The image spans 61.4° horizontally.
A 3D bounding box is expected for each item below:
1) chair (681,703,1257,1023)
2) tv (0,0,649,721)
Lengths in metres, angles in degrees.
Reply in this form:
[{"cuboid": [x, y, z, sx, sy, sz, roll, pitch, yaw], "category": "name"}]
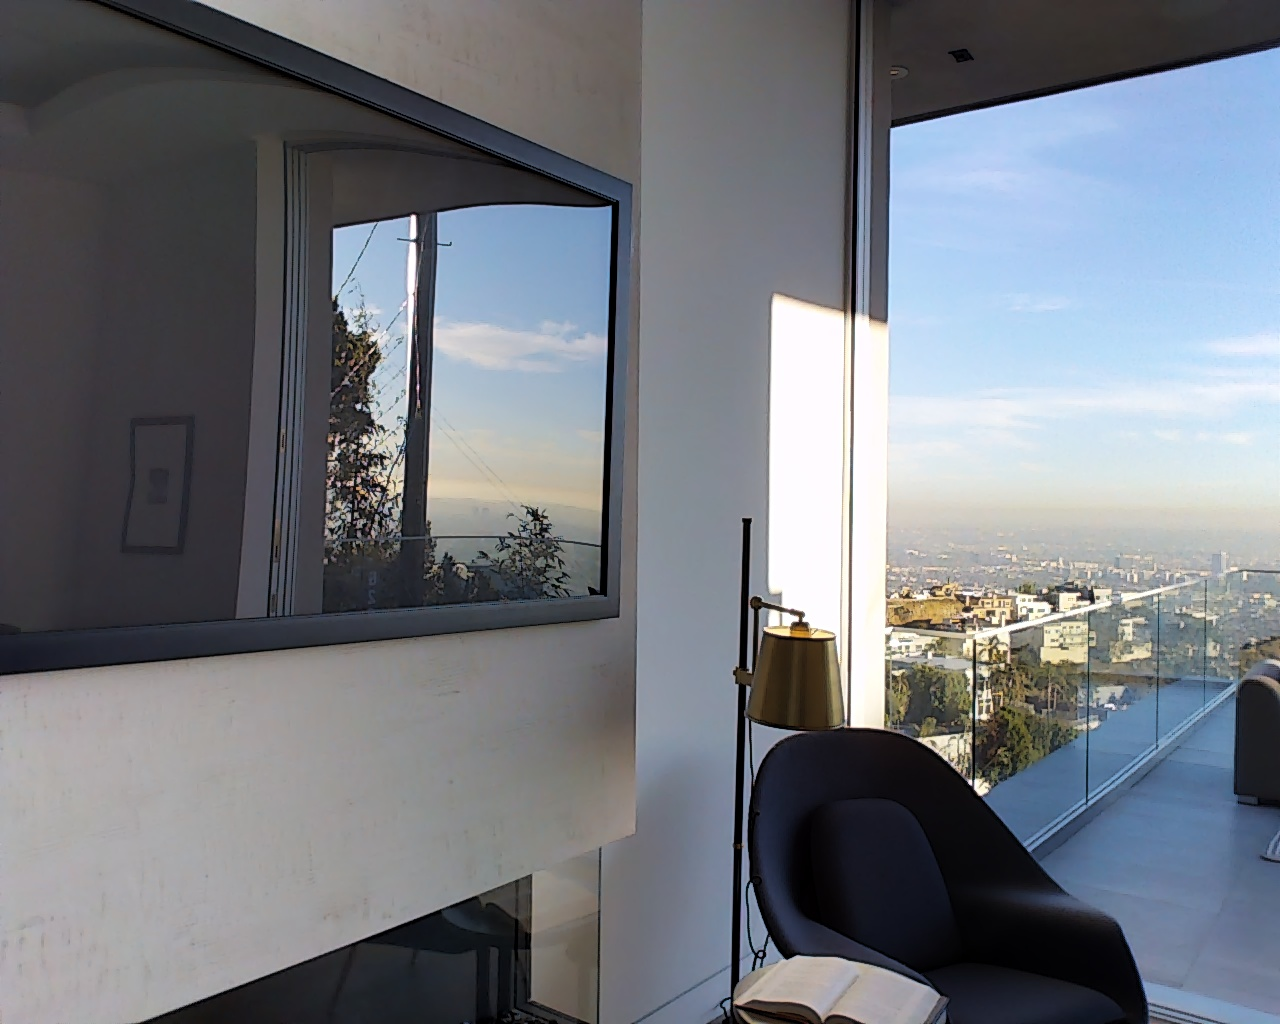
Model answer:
[{"cuboid": [0.800, 1.080, 2.800, 0.990, 0.920, 1.020, 0, 0, -29], "category": "chair"}, {"cuboid": [-0.410, -0.230, 1.580, 0.070, 0.910, 1.320, 1, 0, 37], "category": "tv"}]
